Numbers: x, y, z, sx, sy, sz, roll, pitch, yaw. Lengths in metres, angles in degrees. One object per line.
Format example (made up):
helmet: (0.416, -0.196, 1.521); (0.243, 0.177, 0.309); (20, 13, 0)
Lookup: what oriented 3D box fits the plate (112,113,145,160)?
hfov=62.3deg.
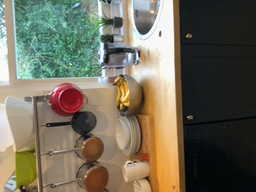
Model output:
plate: (0.000, 0.260, 1.430); (0.220, 0.140, 0.260); (-174, 81, -68)
